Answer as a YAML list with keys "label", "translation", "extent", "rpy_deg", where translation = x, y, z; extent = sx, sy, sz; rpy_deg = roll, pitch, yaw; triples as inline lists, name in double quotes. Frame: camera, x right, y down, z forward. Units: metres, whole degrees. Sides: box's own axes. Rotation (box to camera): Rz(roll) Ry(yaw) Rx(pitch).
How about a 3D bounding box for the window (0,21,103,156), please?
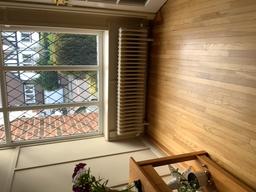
- label: "window"
  translation: [-1.160, -0.090, 2.740]
  extent: [0.200, 1.670, 1.600]
  rpy_deg: [-157, 66, -66]
